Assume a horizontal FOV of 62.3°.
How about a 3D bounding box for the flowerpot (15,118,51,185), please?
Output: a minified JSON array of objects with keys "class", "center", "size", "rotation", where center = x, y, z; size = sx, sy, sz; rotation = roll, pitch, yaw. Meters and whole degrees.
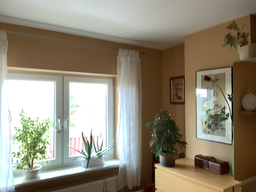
[{"class":"flowerpot","center":[-1.020,0.570,2.280],"size":[0.300,0.630,0.200],"rotation":[1,-2,-38]}]
